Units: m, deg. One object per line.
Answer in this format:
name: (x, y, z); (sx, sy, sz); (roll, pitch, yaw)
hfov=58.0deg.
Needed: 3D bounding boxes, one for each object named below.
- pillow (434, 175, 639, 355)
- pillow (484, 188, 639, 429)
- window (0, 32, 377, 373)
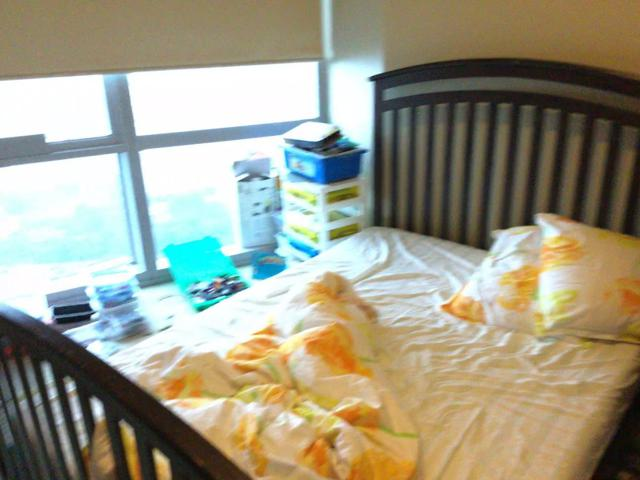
pillow: (0.820, 0.040, 2.100); (0.490, 0.330, 0.700); (17, 28, 39)
pillow: (0.980, 0.180, 1.970); (0.540, 0.490, 0.660); (16, 28, 38)
window: (-0.900, -0.320, 2.810); (2.110, 1.190, 1.040); (-12, 24, -23)
